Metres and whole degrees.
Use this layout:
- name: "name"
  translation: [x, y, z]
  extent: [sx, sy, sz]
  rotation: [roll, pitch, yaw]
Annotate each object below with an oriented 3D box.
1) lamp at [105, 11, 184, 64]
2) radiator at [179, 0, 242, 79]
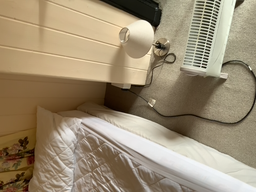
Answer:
- name: "lamp"
  translation: [0.130, -0.400, 1.510]
  extent: [0.290, 0.480, 0.240]
  rotation: [23, 105, 39]
- name: "radiator"
  translation: [0.500, -0.390, 1.240]
  extent: [0.130, 0.390, 0.550]
  rotation: [15, 100, 40]
